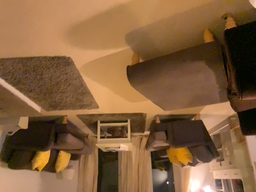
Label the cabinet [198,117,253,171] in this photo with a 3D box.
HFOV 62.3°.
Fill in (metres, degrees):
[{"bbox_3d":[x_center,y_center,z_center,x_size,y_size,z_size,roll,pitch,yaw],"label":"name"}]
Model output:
[{"bbox_3d":[2.000,1.110,4.590,0.390,0.940,1.520,-1,159,0],"label":"cabinet"}]
